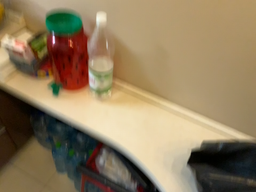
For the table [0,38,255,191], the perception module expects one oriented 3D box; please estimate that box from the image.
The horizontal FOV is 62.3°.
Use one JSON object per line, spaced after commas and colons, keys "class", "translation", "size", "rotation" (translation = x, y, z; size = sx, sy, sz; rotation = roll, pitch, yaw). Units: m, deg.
{"class": "table", "translation": [-0.100, 0.370, 1.010], "size": [1.260, 0.750, 0.460], "rotation": [24, 49, 13]}
